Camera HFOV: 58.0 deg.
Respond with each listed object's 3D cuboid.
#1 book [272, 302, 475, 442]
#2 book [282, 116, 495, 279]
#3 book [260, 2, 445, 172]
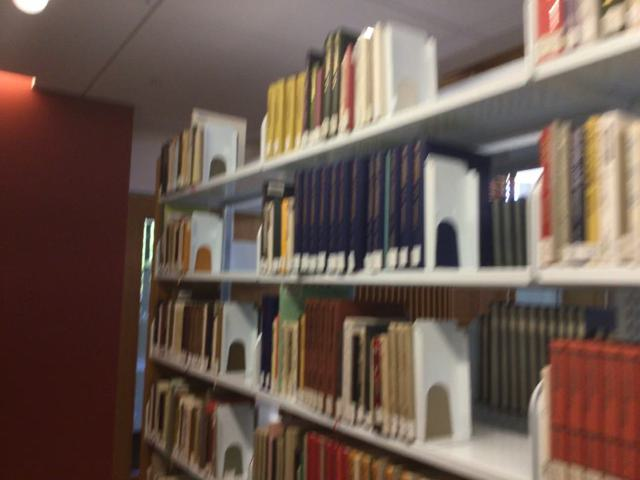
[{"bbox_3d":[0.090,0.270,1.320,0.140,0.230,0.550,5,-6,-34],"label":"book"},{"bbox_3d":[0.120,-0.060,1.290,0.160,0.280,0.540,7,-6,-31],"label":"book"},{"bbox_3d":[0.050,-0.340,1.440,0.150,0.250,0.570,6,-5,-31],"label":"book"}]
